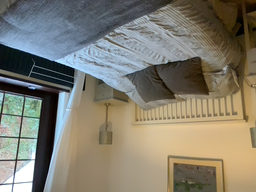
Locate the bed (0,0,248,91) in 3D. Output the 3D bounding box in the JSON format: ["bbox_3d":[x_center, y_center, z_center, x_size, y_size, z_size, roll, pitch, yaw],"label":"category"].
[{"bbox_3d":[0.010,-0.660,2.020,1.540,0.630,2.050,-10,163,40],"label":"bed"}]
